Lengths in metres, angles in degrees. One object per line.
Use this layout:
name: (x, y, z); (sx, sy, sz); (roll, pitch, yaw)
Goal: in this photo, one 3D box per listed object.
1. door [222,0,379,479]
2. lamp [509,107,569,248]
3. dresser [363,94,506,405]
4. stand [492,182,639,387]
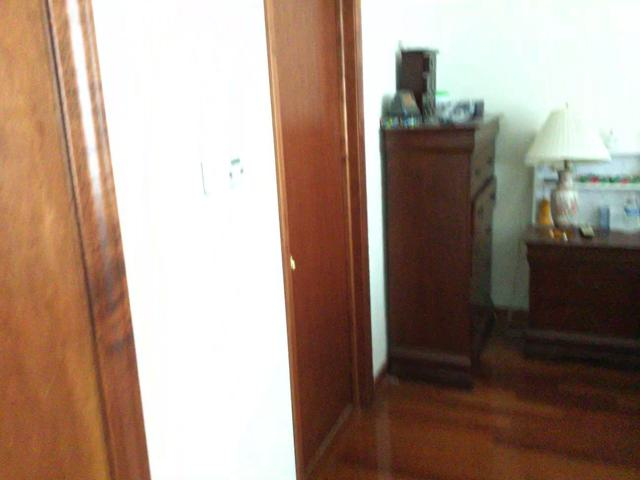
door: (-0.020, -0.070, 2.190); (0.170, 2.000, 0.710); (1, 14, 23)
lamp: (1.120, -0.330, 2.940); (0.260, 0.650, 0.420); (1, 14, 23)
dresser: (0.650, -0.020, 3.000); (0.510, 1.380, 0.890); (1, 14, 23)
stand: (1.330, 0.190, 2.950); (0.800, 0.880, 0.560); (1, 14, 23)
